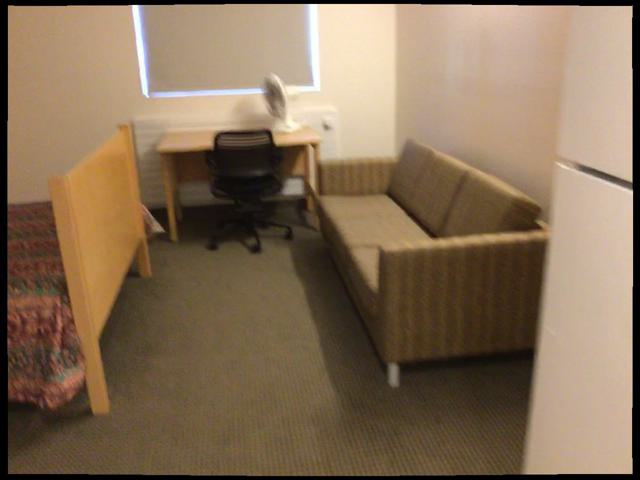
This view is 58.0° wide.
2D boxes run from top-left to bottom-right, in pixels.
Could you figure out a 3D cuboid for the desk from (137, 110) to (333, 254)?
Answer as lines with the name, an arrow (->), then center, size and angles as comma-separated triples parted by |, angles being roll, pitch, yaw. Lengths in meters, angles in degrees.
desk -> -0.669, -0.521, 4.710 | 1.367, 0.861, 0.910 | -6, 21, -9
